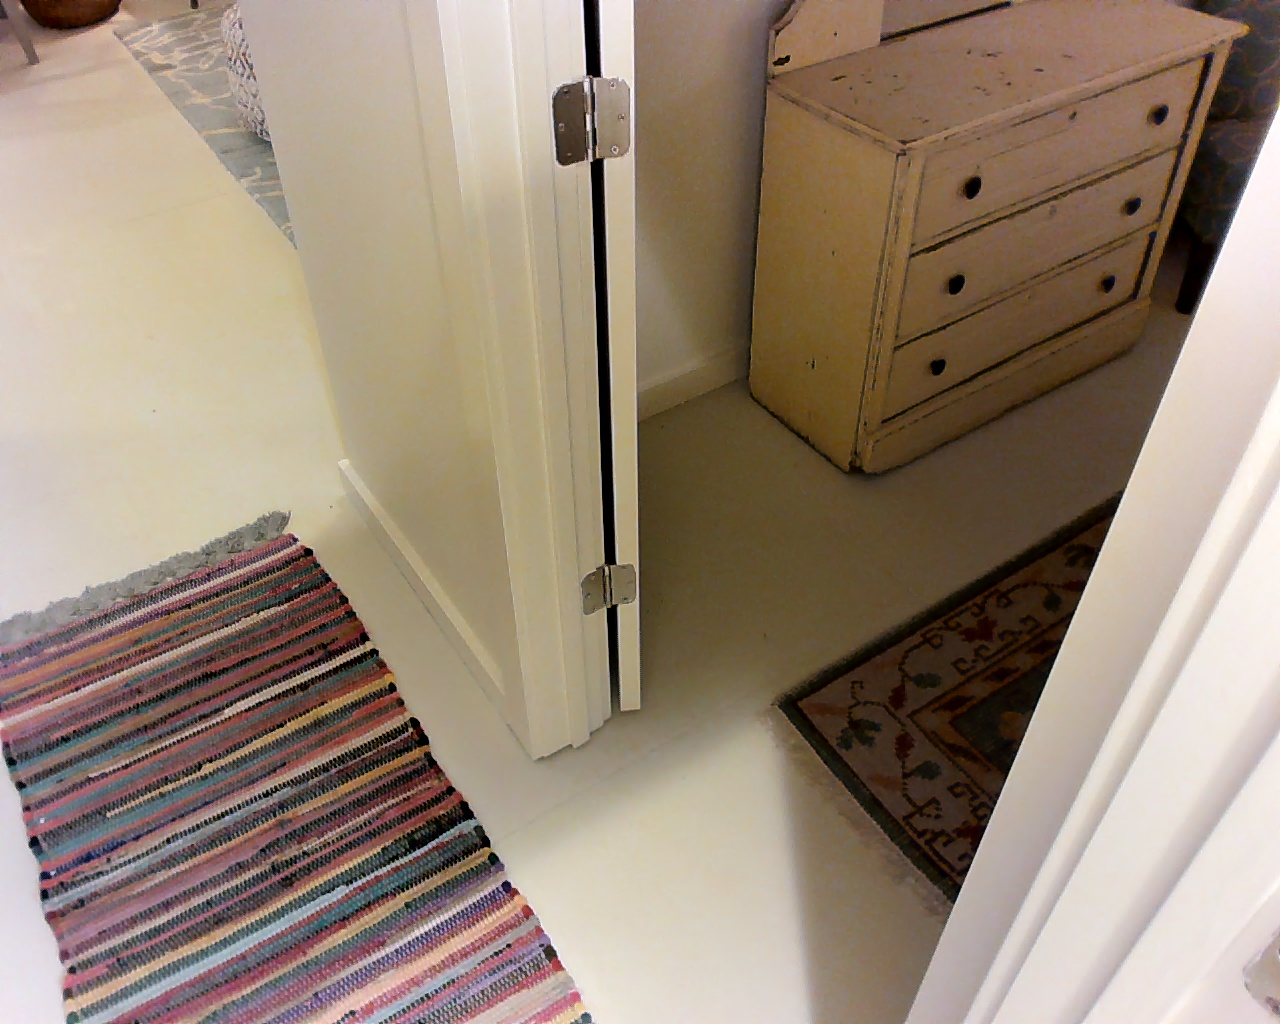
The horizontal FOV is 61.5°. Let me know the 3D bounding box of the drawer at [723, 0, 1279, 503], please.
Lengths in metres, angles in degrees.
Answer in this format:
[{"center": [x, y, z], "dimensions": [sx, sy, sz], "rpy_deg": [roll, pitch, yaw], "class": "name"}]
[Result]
[{"center": [0.770, -0.660, 2.430], "dimensions": [1.030, 0.810, 0.510], "rpy_deg": [-25, 48, -24], "class": "drawer"}]
